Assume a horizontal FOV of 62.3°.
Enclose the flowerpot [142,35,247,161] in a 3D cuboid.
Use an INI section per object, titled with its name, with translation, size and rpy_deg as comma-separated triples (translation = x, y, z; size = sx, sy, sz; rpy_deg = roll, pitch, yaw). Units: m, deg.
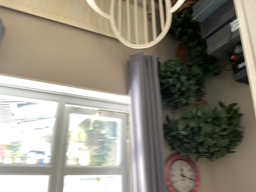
[flowerpot]
translation = 0.460, 0.060, 1.600
size = 0.560, 0.800, 0.390
rpy_deg = 9, 159, -25
